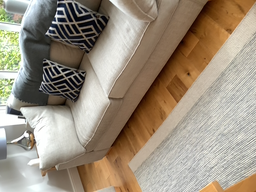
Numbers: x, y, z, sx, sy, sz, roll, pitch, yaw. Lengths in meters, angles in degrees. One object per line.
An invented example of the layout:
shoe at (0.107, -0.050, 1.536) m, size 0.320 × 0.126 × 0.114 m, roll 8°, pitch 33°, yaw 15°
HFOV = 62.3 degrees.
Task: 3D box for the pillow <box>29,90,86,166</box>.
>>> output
pillow at (-0.740, 0.290, 2.170) m, size 0.250 × 0.350 × 0.710 m, roll -57°, pitch 49°, yaw 38°

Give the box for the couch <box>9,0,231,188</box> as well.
couch at (-0.380, -0.340, 1.870) m, size 1.140 × 0.900 × 2.230 m, roll 60°, pitch 135°, yaw 32°
